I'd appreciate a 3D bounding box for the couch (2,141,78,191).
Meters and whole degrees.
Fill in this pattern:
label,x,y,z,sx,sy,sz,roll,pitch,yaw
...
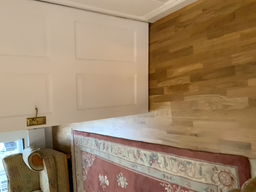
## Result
label,x,y,z,sx,sy,sz,roll,pitch,yaw
couch,-1.560,1.430,3.690,1.200,0.930,0.990,-5,89,53
